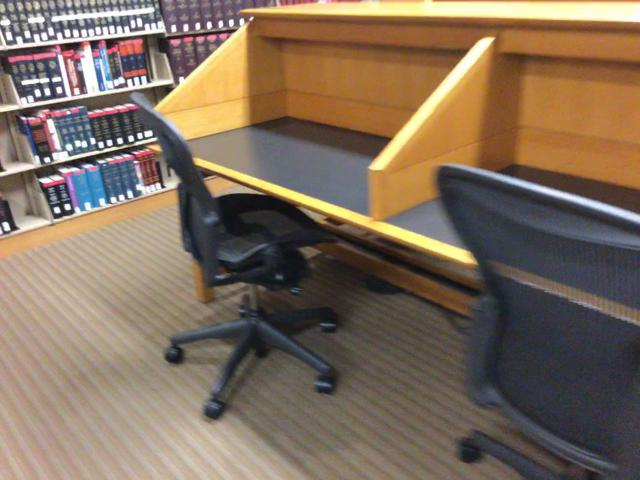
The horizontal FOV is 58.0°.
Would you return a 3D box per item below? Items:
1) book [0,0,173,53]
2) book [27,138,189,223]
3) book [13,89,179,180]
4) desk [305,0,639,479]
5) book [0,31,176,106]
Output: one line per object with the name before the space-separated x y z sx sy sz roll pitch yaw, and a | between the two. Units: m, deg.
book | -1.300 -1.240 3.230 0.890 0.270 0.250 -23 30 -37
book | -1.280 -0.390 3.570 0.870 0.270 0.270 -23 30 -37
book | -1.300 -0.650 3.440 0.830 0.350 0.270 -23 30 -37
desk | 0.770 0.060 1.380 0.830 1.230 1.380 -22 29 -37
book | -1.350 -1.020 3.360 0.910 0.290 0.340 -23 30 -37
